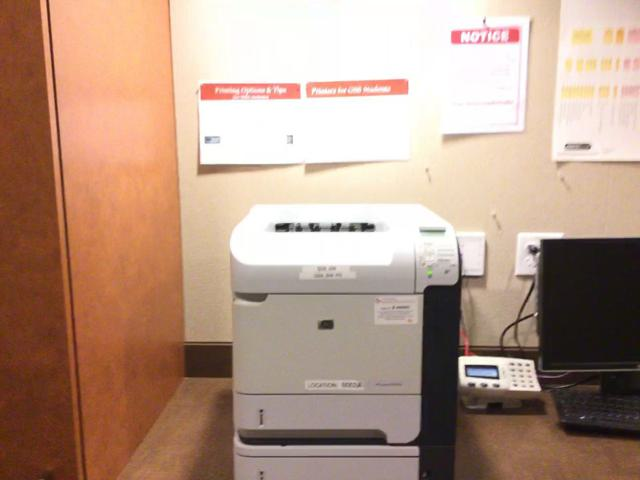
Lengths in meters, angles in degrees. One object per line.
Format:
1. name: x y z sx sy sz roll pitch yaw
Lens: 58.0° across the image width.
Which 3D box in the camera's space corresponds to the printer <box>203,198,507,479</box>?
1. printer: 0.050 0.220 1.100 0.470 0.530 0.190 7 10 1
